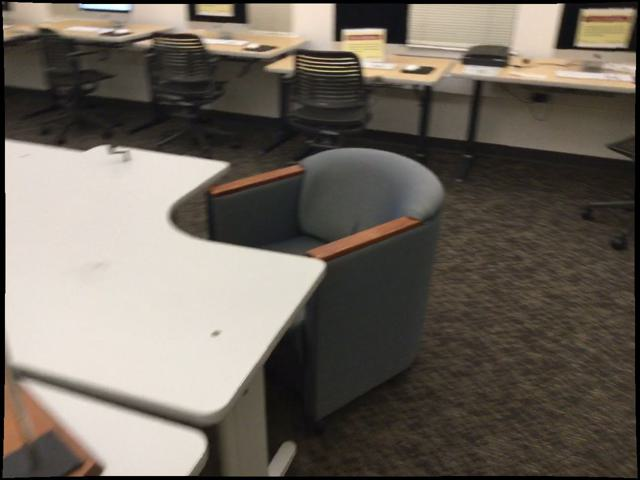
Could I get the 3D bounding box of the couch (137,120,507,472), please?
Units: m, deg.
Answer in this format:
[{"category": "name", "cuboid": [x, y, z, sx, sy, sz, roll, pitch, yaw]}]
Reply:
[{"category": "couch", "cuboid": [-0.020, 0.090, 2.110, 0.909, 0.711, 0.870, -18, 33, -30]}]
